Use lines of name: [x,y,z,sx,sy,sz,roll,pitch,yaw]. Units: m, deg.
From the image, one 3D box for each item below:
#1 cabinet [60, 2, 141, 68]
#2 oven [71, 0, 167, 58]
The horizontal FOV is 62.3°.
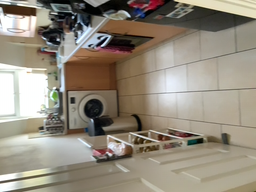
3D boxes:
cabinet: [-0.450,-0.800,3.120,0.980,0.920,0.600,177,92,-65]
oven: [-0.120,-0.810,2.400,0.610,0.920,0.600,177,92,-65]
